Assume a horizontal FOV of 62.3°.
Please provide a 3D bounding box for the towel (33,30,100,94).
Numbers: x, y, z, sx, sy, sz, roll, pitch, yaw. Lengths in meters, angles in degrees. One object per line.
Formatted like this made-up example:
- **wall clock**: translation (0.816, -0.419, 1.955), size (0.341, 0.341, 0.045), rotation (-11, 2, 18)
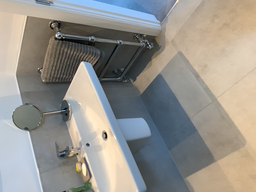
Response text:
- **towel**: translation (-0.450, -0.220, 1.510), size (0.460, 0.310, 0.160), rotation (-48, 58, 42)
